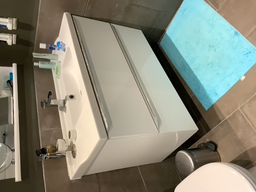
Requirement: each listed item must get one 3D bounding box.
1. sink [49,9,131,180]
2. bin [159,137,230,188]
[{"bbox_3d":[-0.320,-0.060,1.380,0.450,0.190,1.020,-57,44,42],"label":"sink"},{"bbox_3d":[0.440,0.450,1.450,0.310,0.290,0.190,-56,44,42],"label":"bin"}]
